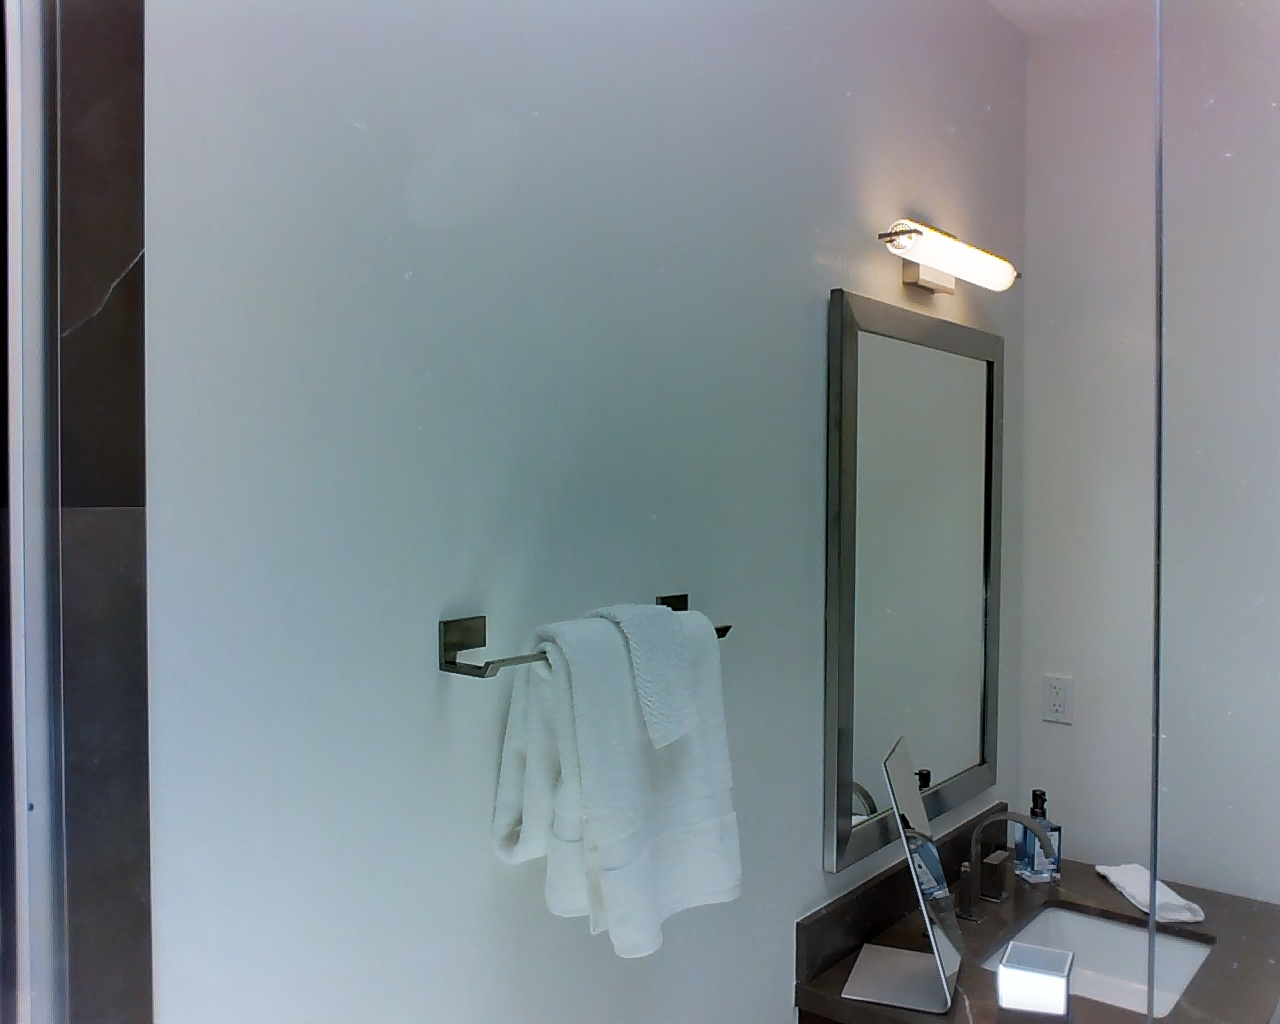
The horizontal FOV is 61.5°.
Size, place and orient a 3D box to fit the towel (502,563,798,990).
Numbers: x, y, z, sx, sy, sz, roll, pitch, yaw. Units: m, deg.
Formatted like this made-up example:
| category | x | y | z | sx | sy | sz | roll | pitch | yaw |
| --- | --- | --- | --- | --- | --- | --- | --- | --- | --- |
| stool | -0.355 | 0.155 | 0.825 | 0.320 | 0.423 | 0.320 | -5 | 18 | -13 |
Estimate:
| category | x | y | z | sx | sy | sz | roll | pitch | yaw |
| --- | --- | --- | --- | --- | --- | --- | --- | --- | --- |
| towel | 0.020 | 0.290 | 1.330 | 0.210 | 0.430 | 0.320 | 1 | 1 | 38 |
